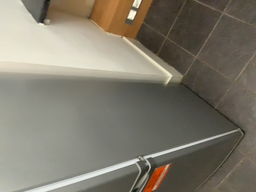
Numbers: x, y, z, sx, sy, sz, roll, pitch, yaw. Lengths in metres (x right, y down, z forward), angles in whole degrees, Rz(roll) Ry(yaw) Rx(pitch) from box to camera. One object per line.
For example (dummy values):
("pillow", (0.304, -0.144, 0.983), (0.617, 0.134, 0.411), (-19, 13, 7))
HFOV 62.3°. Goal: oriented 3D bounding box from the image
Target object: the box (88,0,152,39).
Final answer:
("box", (-0.050, -0.810, 1.800), (0.350, 0.300, 0.490), (47, 122, 35))
